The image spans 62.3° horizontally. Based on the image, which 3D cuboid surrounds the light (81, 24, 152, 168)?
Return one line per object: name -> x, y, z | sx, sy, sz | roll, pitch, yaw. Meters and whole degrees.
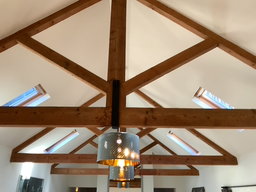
light -> -0.130, 0.020, 3.510 | 0.680, 2.130, 0.860 | -12, -27, 24
